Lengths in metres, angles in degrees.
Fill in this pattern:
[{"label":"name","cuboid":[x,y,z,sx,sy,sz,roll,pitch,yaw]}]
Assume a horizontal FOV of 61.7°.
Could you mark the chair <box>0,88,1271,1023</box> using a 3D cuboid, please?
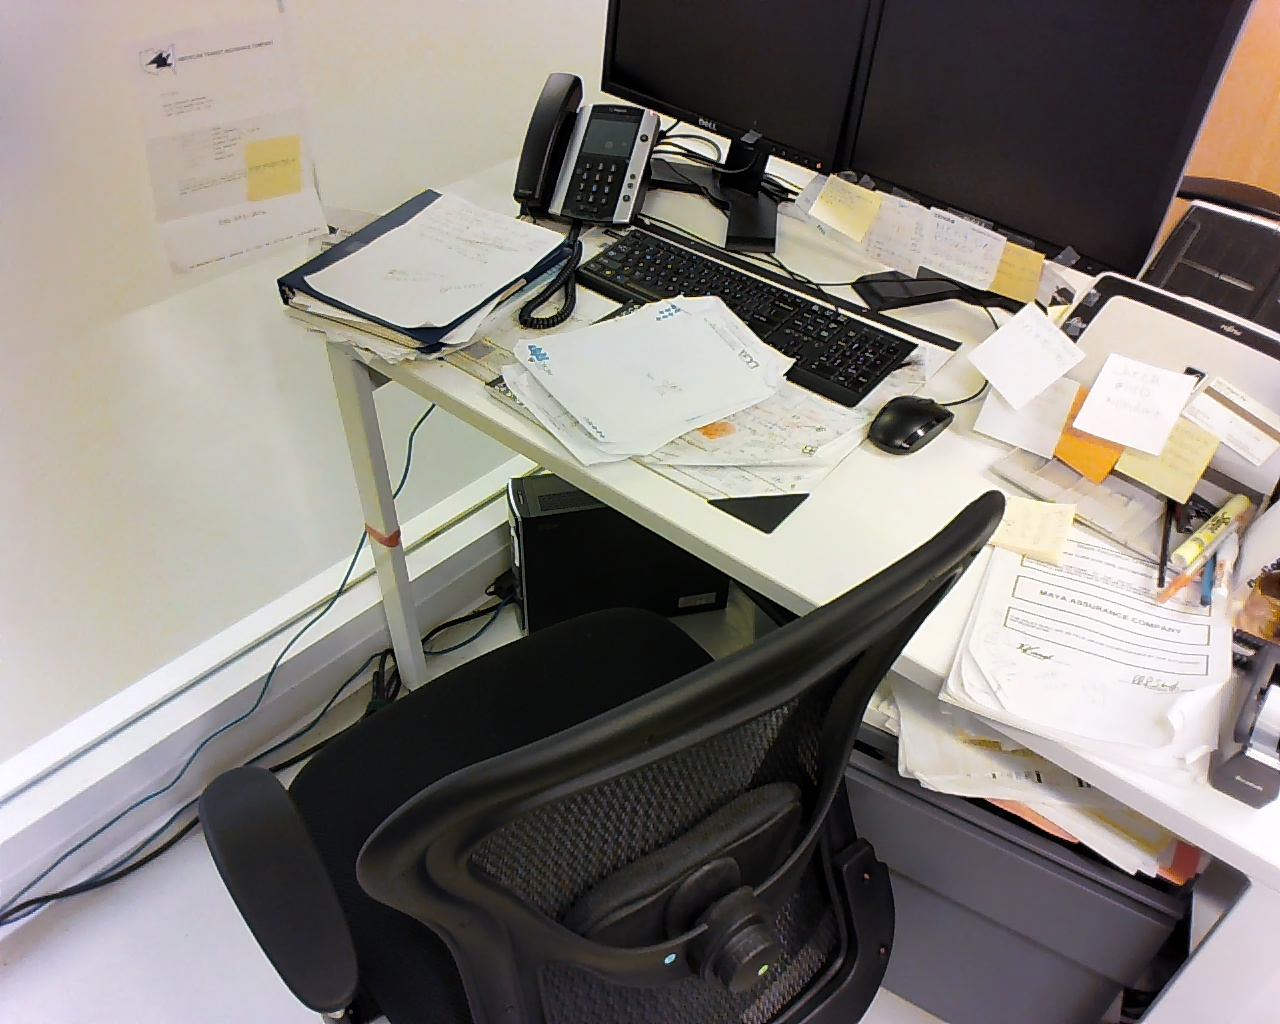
[{"label":"chair","cuboid":[-0.050,0.270,1.120,0.710,1.060,0.660,-27,49,-27]}]
